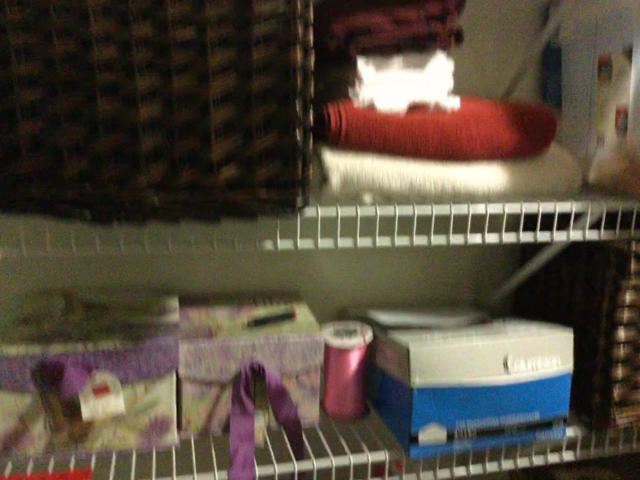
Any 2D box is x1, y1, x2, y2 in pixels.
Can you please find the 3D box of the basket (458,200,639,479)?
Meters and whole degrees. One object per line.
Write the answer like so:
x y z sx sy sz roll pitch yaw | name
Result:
0.530 0.120 0.970 0.430 0.330 0.390 -1 11 -14 | basket
